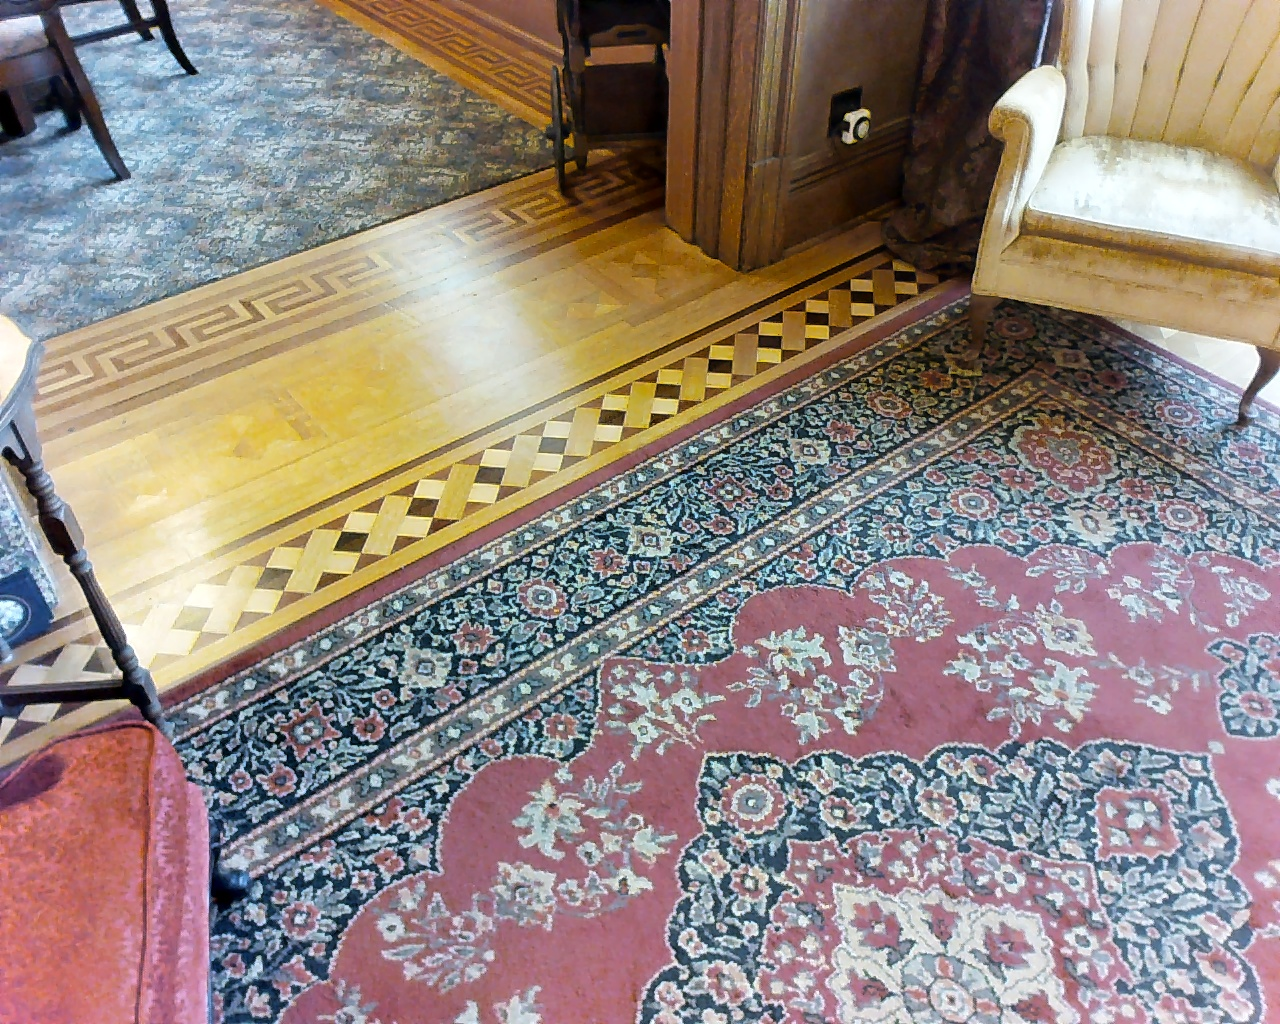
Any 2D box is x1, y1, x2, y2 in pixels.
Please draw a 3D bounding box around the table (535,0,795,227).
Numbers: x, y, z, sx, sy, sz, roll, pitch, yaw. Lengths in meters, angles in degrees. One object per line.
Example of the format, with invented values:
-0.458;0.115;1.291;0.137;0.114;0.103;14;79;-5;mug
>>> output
0.030;-1.430;3.160;0.630;0.830;0.830;-5;43;-6;table
